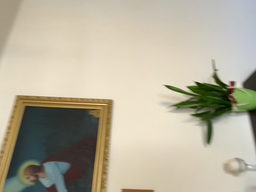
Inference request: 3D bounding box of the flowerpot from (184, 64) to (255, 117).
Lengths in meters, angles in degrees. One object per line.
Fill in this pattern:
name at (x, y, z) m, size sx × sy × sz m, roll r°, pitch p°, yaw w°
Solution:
flowerpot at (0.580, -0.030, 1.300) m, size 0.170 × 0.420 × 0.260 m, roll 93°, pitch 180°, yaw -66°
